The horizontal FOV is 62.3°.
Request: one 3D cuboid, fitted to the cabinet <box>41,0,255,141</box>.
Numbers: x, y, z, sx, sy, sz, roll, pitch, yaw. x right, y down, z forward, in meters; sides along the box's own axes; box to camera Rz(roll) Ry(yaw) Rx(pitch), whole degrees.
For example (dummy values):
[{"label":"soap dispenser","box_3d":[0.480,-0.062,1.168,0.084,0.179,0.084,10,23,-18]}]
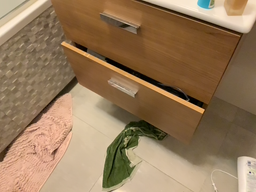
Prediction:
[{"label":"cabinet","box_3d":[0.100,-0.260,0.850,0.620,0.560,0.450,28,64,20]}]
